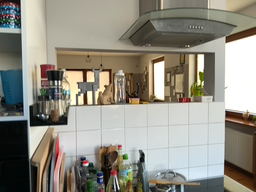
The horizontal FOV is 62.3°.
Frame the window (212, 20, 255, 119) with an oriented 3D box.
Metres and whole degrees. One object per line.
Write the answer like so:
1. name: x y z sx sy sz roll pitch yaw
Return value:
1. window: 2.100 -0.460 3.920 0.180 1.630 1.450 -1 4 -14
